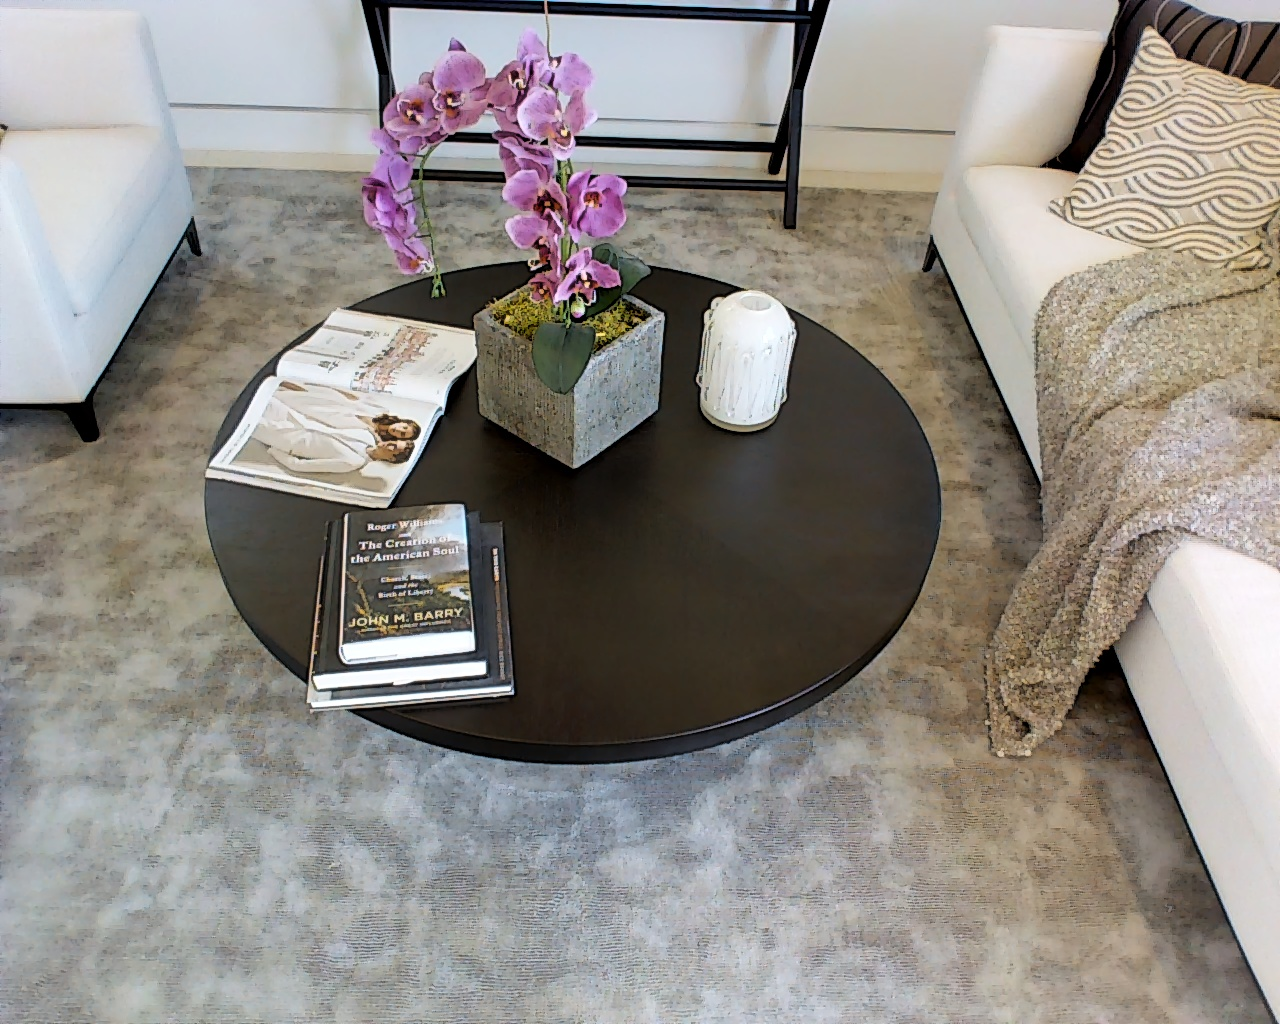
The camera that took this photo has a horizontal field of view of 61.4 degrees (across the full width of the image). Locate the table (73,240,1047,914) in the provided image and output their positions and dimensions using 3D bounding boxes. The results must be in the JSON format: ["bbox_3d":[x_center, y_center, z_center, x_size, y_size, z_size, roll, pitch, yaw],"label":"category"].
[{"bbox_3d":[-0.100,0.030,1.980,1.250,0.430,1.230,2,43,-2],"label":"table"}]

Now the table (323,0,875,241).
[{"bbox_3d":[-0.120,-1.230,3.100,1.390,0.680,0.480,1,43,-3],"label":"table"}]

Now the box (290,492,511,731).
[{"bbox_3d":[-0.330,0.130,1.510,0.270,0.120,0.310,-4,44,-9],"label":"box"}]

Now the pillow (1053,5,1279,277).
[{"bbox_3d":[1.240,-0.820,2.350,0.470,0.350,0.380,25,47,21],"label":"pillow"}]
